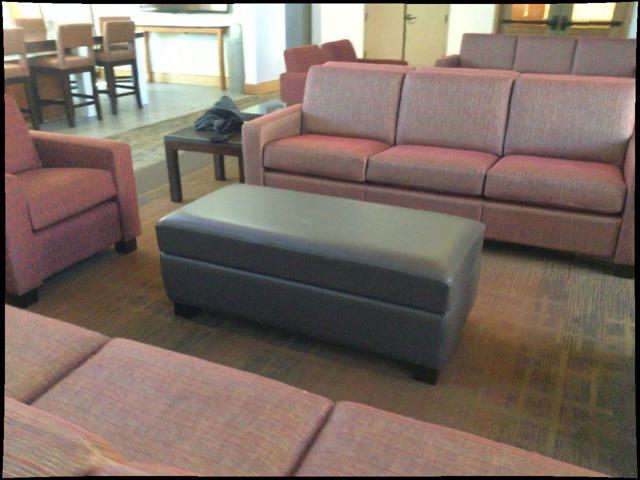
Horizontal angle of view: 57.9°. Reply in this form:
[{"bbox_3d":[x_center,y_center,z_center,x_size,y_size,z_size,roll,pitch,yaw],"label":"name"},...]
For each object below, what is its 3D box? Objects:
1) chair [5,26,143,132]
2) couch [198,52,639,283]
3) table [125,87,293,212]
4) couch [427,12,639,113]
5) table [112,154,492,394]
[{"bbox_3d":[-2.527,-1.692,5.990,1.109,0.911,0.590,12,27,25],"label":"chair"},{"bbox_3d":[0.609,-0.541,3.330,2.428,0.841,0.890,10,27,22],"label":"couch"},{"bbox_3d":[-0.719,-0.651,3.920,0.809,0.590,0.710,12,27,25],"label":"table"},{"bbox_3d":[2.487,-2.032,6.440,2.308,0.851,0.970,12,27,25],"label":"couch"},{"bbox_3d":[-0.080,0.050,2.460,1.399,0.500,0.670,12,27,25],"label":"table"}]
